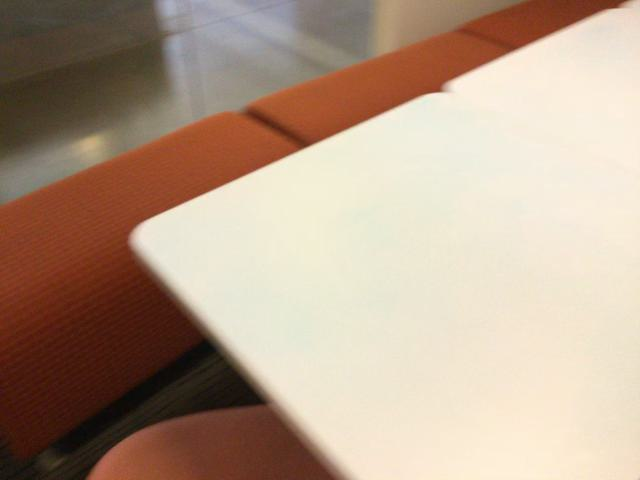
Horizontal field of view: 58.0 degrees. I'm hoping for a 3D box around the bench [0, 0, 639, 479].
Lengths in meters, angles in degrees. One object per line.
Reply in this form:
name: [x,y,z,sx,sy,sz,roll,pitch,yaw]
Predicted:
bench: [0.260,-0.340,2.000,2.870,0.510,0.600,-27,45,-27]
